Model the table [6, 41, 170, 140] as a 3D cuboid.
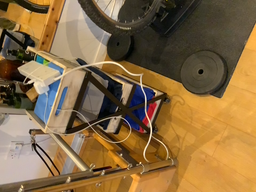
[{"bbox_3d":[-0.180,-0.010,1.210,0.450,0.750,0.300,27,101,39],"label":"table"}]
